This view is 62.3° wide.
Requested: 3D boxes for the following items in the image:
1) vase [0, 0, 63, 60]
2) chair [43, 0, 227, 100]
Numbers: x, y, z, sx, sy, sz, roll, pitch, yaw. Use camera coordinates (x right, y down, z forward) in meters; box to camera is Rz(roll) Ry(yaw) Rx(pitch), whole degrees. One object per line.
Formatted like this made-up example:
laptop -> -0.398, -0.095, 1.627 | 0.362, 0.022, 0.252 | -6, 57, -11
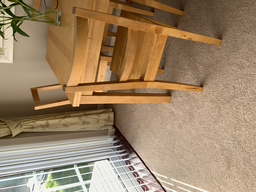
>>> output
vase -> -0.750, -0.590, 1.350 | 0.420, 0.540, 0.580 | 40, 124, 51
chair -> 0.010, -0.280, 1.260 | 0.590, 0.850, 0.370 | 44, 127, 50
